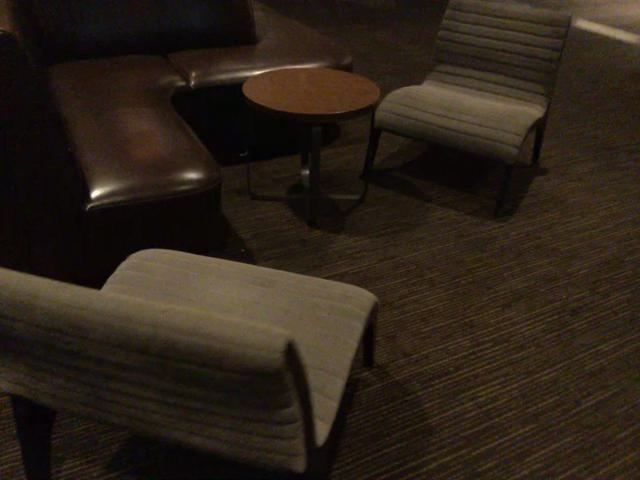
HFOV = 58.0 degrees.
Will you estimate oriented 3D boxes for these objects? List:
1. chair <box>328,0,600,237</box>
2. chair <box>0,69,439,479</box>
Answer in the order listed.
[{"bbox_3d":[0.680,-0.720,2.790,0.870,0.800,0.910,24,42,18],"label":"chair"},{"bbox_3d":[-0.250,0.190,1.280,0.800,0.780,0.810,14,31,6],"label":"chair"}]
